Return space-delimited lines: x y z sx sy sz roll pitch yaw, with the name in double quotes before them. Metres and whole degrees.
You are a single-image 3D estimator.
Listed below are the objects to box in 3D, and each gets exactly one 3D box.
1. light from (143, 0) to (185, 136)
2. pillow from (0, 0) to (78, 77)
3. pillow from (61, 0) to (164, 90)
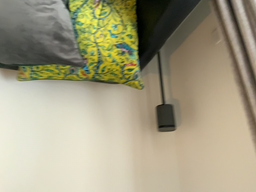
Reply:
"light" 0.260 -0.270 1.640 0.190 1.110 0.170 -10 155 19
"pillow" -0.470 -0.380 0.940 0.410 0.430 0.310 8 142 -26
"pillow" -0.130 -0.320 1.200 0.440 0.440 0.350 2 136 -21
